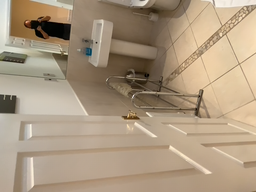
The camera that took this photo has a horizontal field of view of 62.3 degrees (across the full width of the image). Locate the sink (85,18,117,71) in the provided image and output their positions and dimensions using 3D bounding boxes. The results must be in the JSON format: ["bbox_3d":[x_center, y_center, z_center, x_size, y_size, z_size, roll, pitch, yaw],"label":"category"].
[{"bbox_3d":[-0.340,-0.630,2.560,0.440,0.180,0.550,40,122,59],"label":"sink"}]
